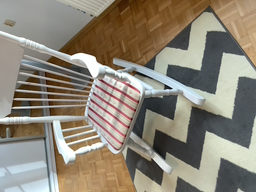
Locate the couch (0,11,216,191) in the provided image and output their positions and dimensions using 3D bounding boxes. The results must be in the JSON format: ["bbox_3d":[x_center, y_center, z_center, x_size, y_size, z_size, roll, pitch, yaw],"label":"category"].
[{"bbox_3d":[-0.240,0.030,1.240,0.880,1.150,0.620,33,109,39],"label":"couch"}]
